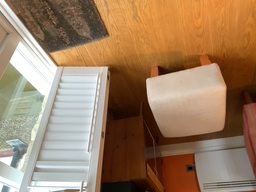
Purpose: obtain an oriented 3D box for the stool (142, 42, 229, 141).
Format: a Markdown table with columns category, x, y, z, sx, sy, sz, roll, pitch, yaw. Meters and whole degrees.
| category | x | y | z | sx | sy | sz | roll | pitch | yaw |
| --- | --- | --- | --- | --- | --- | --- | --- | --- | --- |
| stool | 0.430 | 0.010 | 1.590 | 0.490 | 0.370 | 0.610 | -11 | 141 | 14 |
